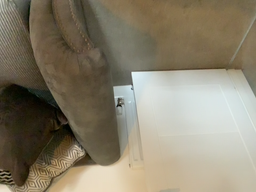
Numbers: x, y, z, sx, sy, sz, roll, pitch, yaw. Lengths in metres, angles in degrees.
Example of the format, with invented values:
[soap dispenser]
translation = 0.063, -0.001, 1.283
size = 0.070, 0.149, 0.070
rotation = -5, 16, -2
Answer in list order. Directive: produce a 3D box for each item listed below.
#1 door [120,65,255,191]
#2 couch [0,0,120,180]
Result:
[door]
translation = 0.640, 0.690, 1.310
size = 1.230, 2.070, 0.230
rotation = -4, 146, -4
[couch]
translation = -0.930, -0.020, 1.250
size = 1.670, 0.730, 1.120
rotation = -5, 146, -3
